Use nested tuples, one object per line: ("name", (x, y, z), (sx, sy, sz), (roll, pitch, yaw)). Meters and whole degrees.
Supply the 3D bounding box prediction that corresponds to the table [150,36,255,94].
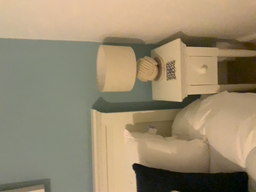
("table", (0.500, -0.170, 1.320), (0.320, 0.640, 0.290), (-173, 82, -70))
